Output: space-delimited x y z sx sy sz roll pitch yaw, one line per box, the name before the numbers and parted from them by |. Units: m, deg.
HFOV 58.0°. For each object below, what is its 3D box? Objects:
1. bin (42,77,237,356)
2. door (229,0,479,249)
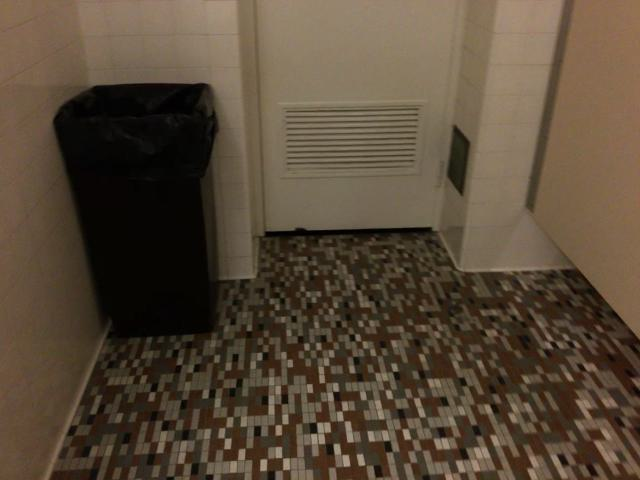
bin | -0.560 -0.090 2.010 0.440 0.830 0.460 -4 26 -3
door | 0.140 -0.750 2.370 0.960 1.630 0.140 -4 26 -3
